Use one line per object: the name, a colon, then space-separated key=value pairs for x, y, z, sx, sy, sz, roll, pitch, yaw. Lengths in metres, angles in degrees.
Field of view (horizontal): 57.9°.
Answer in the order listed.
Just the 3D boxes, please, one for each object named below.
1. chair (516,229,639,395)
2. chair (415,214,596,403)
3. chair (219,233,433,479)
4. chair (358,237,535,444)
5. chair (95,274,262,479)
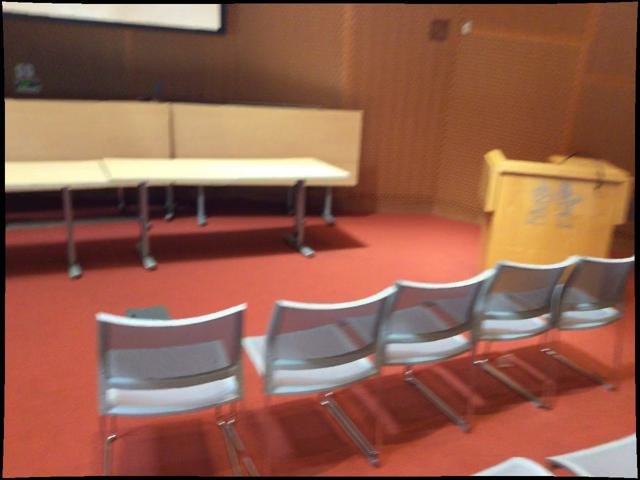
chair: x=1.309 y=0.340 z=2.820 sx=0.510 sy=0.731 sz=0.240 roll=-3 pitch=20 yaw=-20
chair: x=0.839 y=0.290 z=2.740 sx=0.500 sy=0.691 sz=0.520 roll=-3 pitch=20 yaw=-20
chair: x=-0.020 y=0.420 z=2.320 sx=0.639 sy=0.711 sz=0.570 roll=-4 pitch=21 yaw=-23
chair: x=0.539 y=0.400 z=2.470 sx=0.690 sy=0.701 sz=0.240 roll=-9 pitch=23 yaw=-34
chair: x=-0.480 y=0.511 z=1.970 sx=0.490 sy=0.711 sz=0.270 roll=-3 pitch=20 yaw=-19
